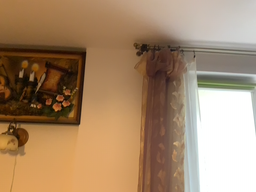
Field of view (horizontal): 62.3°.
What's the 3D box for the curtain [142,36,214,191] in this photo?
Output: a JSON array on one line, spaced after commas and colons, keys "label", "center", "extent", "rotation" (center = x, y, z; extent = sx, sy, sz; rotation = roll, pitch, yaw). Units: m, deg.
[{"label": "curtain", "center": [0.320, 0.930, 1.450], "extent": [0.430, 2.750, 0.380], "rotation": [2, -15, 0]}]
